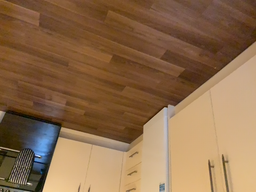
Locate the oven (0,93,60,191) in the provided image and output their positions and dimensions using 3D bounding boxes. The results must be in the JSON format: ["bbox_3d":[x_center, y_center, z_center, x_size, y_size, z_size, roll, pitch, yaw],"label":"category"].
[{"bbox_3d":[-1.160,0.530,2.220,0.600,0.760,0.670,17,145,-16],"label":"oven"}]
